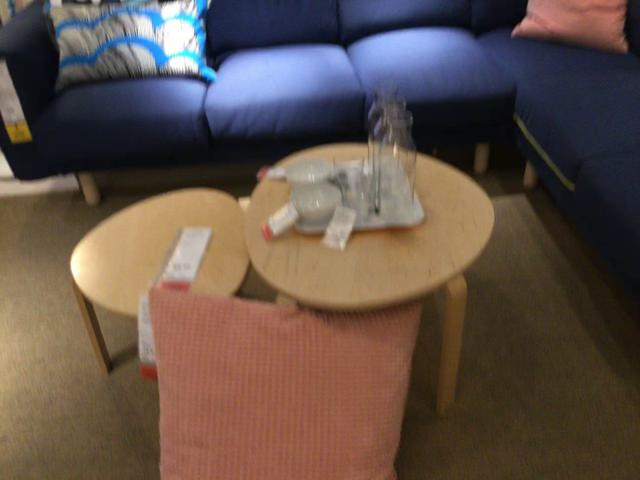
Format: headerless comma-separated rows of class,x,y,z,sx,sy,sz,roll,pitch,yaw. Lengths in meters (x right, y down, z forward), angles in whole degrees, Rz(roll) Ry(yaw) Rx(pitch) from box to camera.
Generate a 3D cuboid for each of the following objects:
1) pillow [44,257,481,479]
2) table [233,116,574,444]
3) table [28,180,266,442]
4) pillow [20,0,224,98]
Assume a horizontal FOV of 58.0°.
pillow,-0.100,0.380,1.270,0.720,0.470,0.450,-3,33,-3
table,0.150,0.060,1.610,0.690,0.530,0.740,-3,33,-3
table,-0.400,0.160,1.590,0.470,0.390,0.600,-3,33,-3
pillow,-0.740,-0.760,2.270,0.670,0.280,0.300,-3,33,-3
